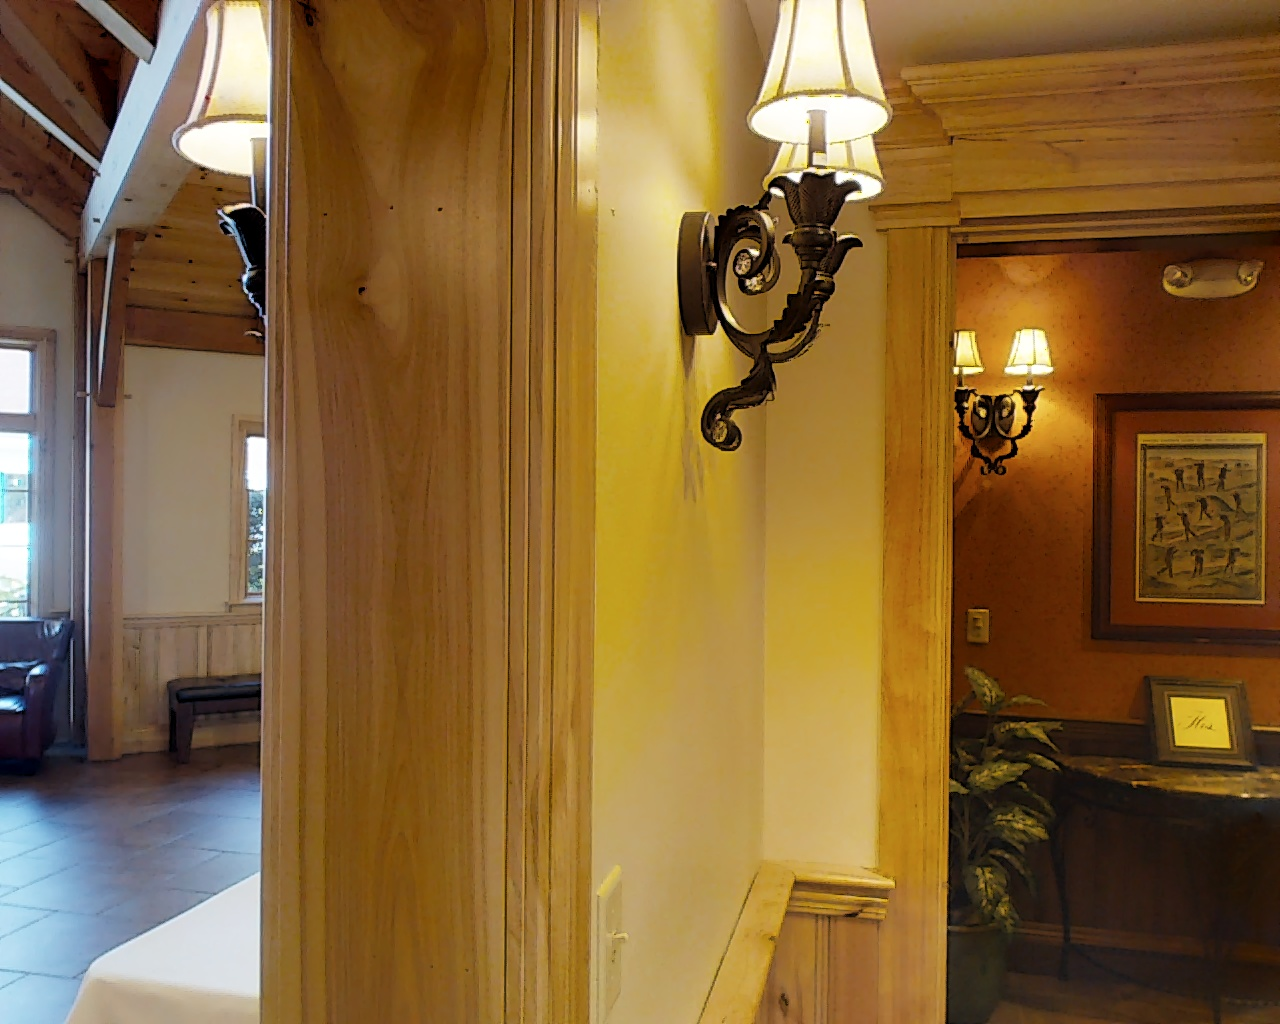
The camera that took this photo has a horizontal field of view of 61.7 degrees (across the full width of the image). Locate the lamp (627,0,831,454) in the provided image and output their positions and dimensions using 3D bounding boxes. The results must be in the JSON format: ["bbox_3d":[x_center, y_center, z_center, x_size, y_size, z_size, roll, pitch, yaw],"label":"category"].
[{"bbox_3d":[0.130,-0.400,1.330,0.180,0.630,0.460,1,0,13],"label":"lamp"}]
